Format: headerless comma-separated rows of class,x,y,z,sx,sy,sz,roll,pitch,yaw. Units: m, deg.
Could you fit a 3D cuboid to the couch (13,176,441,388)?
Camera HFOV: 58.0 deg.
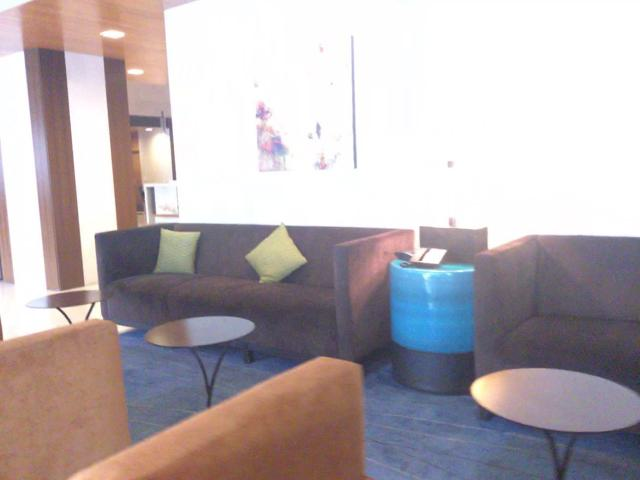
couch,-0.710,0.140,3.930,2.790,0.970,1.030,1,10,31
